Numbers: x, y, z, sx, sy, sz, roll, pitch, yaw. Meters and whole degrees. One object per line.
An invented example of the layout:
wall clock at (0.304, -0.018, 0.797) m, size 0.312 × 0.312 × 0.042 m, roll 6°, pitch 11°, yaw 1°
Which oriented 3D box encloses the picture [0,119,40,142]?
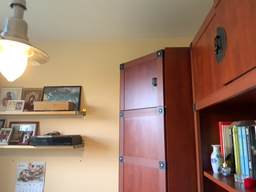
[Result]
picture at (-1.290, 0.380, 2.340) m, size 0.560 × 0.230 × 0.160 m, roll 0°, pitch -10°, yaw 3°

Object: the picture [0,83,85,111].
picture at (-0.990, 0.010, 2.380) m, size 0.960 × 0.280 × 0.170 m, roll 1°, pitch -10°, yaw 1°
